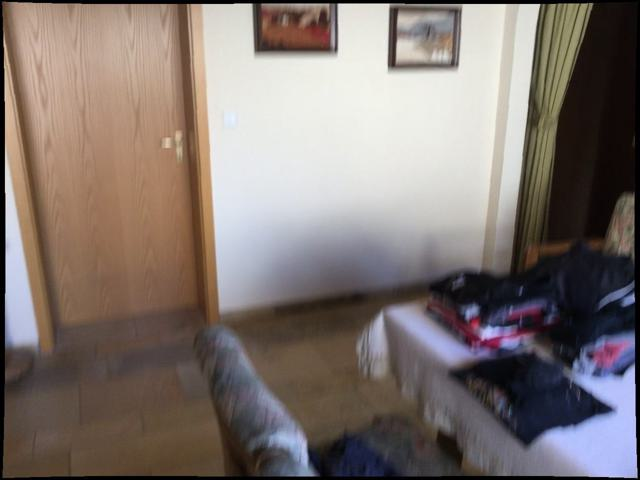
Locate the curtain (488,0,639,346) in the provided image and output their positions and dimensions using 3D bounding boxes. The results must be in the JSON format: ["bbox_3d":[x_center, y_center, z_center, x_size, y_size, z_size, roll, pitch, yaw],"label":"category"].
[{"bbox_3d":[1.479,-0.571,3.170,0.310,2.022,0.990,-6,20,-21],"label":"curtain"}]
